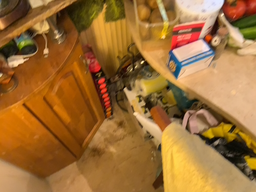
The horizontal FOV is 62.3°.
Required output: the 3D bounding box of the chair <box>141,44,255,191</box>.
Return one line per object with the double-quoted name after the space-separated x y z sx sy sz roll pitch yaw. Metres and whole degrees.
0.400 0.300 0.900 0.550 0.960 0.390 -39 66 -18 "chair"
